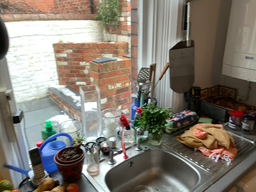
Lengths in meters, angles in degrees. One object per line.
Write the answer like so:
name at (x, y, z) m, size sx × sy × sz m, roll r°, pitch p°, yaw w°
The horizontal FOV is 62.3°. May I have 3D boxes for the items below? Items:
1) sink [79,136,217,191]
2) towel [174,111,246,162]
sink at (0.090, 0.450, 1.050) m, size 0.480 × 0.180 × 0.450 m, roll -17°, pitch 26°, yaw -36°
towel at (0.470, 0.220, 1.240) m, size 0.240 × 0.100 × 0.310 m, roll -18°, pitch 27°, yaw -37°
